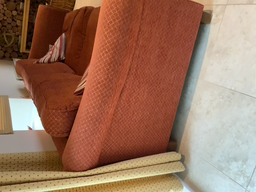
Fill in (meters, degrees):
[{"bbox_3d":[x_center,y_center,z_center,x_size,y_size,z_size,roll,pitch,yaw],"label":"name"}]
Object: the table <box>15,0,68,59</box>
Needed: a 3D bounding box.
[{"bbox_3d":[-1.670,-1.420,4.090,0.490,0.760,1.220,28,110,54],"label":"table"}]
